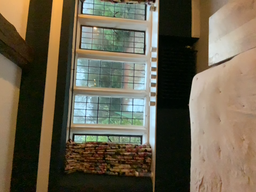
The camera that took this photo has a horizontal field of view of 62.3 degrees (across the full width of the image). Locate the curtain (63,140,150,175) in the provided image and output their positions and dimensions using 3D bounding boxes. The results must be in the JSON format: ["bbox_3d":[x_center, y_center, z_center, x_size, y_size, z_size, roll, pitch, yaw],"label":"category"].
[{"bbox_3d":[-0.310,0.930,3.210,0.180,1.260,0.450,155,118,-80],"label":"curtain"}]

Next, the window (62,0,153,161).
[{"bbox_3d":[-0.300,-0.340,3.660,0.210,1.380,2.790,138,135,-78],"label":"window"}]
